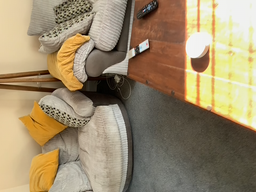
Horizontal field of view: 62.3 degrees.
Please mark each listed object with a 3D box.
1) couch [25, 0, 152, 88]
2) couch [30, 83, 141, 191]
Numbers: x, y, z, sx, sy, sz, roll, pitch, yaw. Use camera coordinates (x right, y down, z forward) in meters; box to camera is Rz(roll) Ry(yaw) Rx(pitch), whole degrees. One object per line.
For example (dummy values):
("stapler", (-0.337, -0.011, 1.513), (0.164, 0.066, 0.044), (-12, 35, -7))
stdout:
("couch", (-0.480, -0.690, 2.090), (1.130, 0.850, 0.960), (29, 117, 55))
("couch", (-0.570, 0.590, 2.400), (1.230, 0.810, 1.360), (15, 105, 58))
